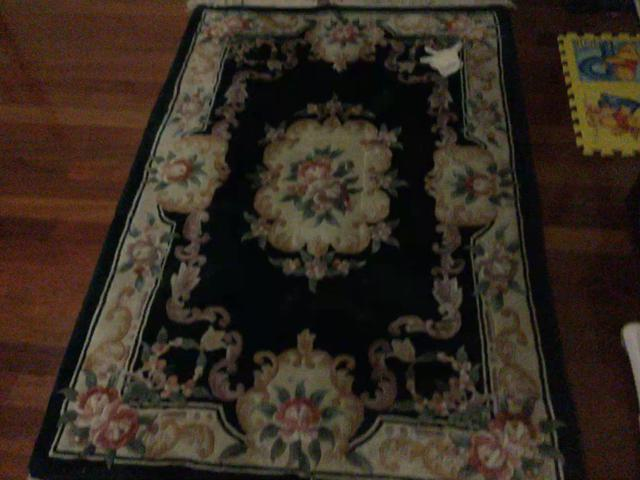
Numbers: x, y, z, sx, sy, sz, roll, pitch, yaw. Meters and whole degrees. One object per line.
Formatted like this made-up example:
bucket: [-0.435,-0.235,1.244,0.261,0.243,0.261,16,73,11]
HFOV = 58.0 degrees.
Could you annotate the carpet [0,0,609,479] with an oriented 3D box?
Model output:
carpet: [0.040,-0.200,1.760,1.260,0.110,1.920,3,54,5]
